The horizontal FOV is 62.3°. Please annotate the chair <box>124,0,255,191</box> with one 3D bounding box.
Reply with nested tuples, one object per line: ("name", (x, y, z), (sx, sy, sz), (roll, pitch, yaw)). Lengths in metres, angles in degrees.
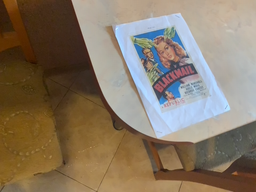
("chair", (0.350, 0.060, 0.820), (0.400, 0.970, 0.500), (-15, 75, -18))
